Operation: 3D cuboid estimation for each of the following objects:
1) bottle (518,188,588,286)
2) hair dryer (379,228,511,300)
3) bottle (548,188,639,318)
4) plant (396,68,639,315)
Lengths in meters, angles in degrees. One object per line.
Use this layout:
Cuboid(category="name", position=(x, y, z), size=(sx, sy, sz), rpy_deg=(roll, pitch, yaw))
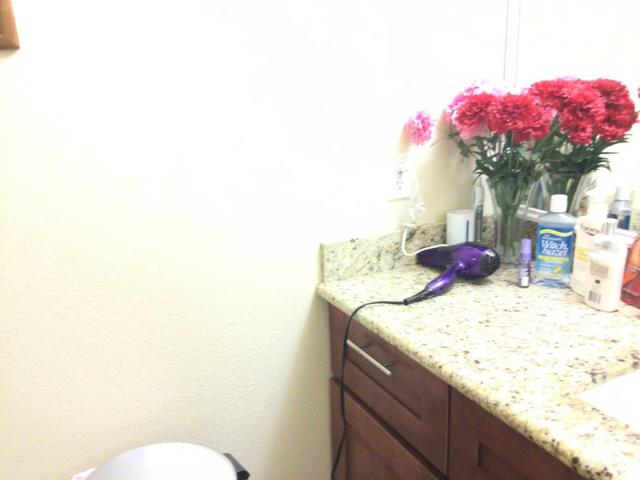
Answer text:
Cuboid(category="bottle", position=(0.530, -0.010, 1.320), size=(0.080, 0.200, 0.100), rpy_deg=(-7, 17, -26))
Cuboid(category="hair dryer", position=(0.290, 0.050, 1.370), size=(0.220, 0.090, 0.210), rpy_deg=(-7, 17, -26))
Cuboid(category="bottle", position=(0.590, 0.020, 1.210), size=(0.100, 0.230, 0.160), rpy_deg=(-7, 17, -26))
Cuboid(category="plant", position=(0.430, -0.140, 1.320), size=(0.340, 0.470, 0.370), rpy_deg=(-7, 17, -26))
